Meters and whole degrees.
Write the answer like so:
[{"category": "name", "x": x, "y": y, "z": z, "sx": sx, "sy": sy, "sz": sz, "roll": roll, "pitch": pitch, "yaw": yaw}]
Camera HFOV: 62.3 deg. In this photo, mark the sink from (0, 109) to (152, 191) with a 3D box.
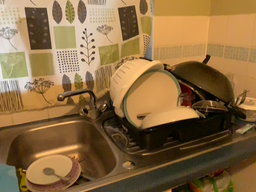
[{"category": "sink", "x": -0.250, "y": 0.250, "z": 0.790, "sx": 0.440, "sy": 0.140, "sz": 0.560, "roll": -10, "pitch": 21, "yaw": -24}]
